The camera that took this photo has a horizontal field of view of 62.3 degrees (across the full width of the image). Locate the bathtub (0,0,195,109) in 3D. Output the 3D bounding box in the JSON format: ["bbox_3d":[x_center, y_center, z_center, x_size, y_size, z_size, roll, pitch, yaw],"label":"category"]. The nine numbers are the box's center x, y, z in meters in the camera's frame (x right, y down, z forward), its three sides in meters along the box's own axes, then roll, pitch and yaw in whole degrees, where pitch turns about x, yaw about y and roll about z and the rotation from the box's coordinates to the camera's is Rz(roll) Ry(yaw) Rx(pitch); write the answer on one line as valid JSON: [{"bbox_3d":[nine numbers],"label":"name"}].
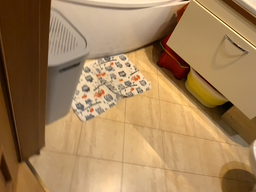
[{"bbox_3d":[-0.350,-0.760,1.810,1.510,0.580,1.060,-30,70,-38],"label":"bathtub"}]

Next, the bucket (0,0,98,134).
[{"bbox_3d":[-0.490,-0.150,1.250,0.310,0.600,0.430,-27,68,-37],"label":"bucket"}]
